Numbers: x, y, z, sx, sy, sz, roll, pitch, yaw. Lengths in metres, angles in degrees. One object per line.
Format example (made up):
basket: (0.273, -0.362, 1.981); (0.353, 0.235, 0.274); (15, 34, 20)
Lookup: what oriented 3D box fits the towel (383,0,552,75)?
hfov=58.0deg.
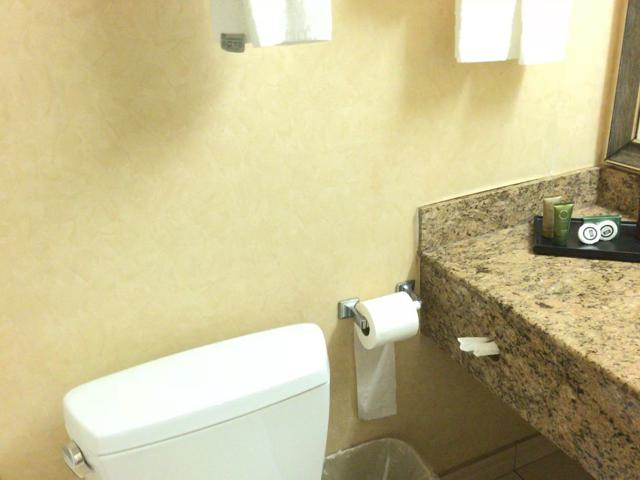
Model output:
towel: (0.280, -0.490, 1.070); (0.330, 0.320, 0.080); (-13, 25, -22)

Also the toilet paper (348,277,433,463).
toilet paper: (0.160, 0.300, 1.330); (0.140, 0.390, 0.120); (-13, 25, -22)
